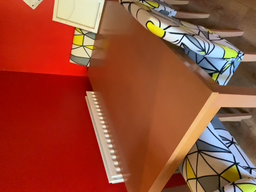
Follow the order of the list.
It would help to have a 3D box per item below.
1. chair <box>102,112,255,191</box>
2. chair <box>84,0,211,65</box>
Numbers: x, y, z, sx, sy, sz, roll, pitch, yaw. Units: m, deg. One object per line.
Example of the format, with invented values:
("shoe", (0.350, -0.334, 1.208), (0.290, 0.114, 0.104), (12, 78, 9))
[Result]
("chair", (0.410, 0.420, 1.150), (0.420, 0.930, 0.520), (-67, 33, 36))
("chair", (0.140, -0.650, 1.840), (0.470, 0.870, 0.500), (60, 140, 47))
